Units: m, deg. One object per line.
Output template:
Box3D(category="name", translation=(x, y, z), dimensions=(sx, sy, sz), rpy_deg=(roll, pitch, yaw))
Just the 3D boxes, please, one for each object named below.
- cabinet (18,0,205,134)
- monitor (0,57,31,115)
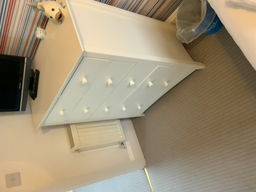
Box3D(category="cabinet", translation=(-0.170, -0.160, 1.640), dimensions=(0.970, 1.010, 0.480), rpy_deg=(-39, 62, 44))
Box3D(category="monitor", translation=(-0.810, -0.060, 1.380), dimensions=(0.020, 0.300, 0.390), rpy_deg=(32, 115, 45))
